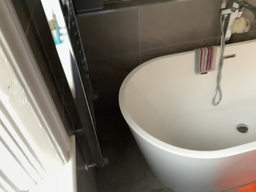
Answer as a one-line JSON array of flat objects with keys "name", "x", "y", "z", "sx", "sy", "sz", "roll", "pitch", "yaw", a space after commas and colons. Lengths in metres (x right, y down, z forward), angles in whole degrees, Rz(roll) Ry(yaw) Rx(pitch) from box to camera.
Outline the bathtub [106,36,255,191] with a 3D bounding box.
[{"name": "bathtub", "x": 0.810, "y": 0.090, "z": 1.450, "sx": 1.740, "sy": 0.590, "sz": 0.840, "roll": -11, "pitch": 43, "yaw": -8}]
